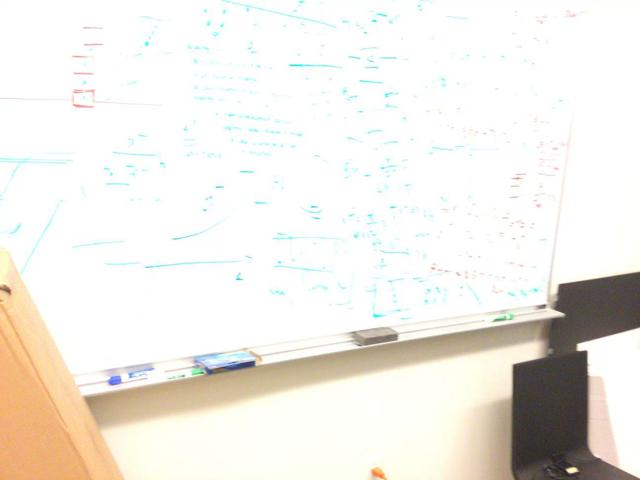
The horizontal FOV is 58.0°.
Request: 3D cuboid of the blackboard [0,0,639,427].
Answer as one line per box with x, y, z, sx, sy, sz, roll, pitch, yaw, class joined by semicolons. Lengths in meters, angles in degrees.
0.520;-0.260;1.750;2.840;1.190;0.110;-1;10;-31;blackboard
